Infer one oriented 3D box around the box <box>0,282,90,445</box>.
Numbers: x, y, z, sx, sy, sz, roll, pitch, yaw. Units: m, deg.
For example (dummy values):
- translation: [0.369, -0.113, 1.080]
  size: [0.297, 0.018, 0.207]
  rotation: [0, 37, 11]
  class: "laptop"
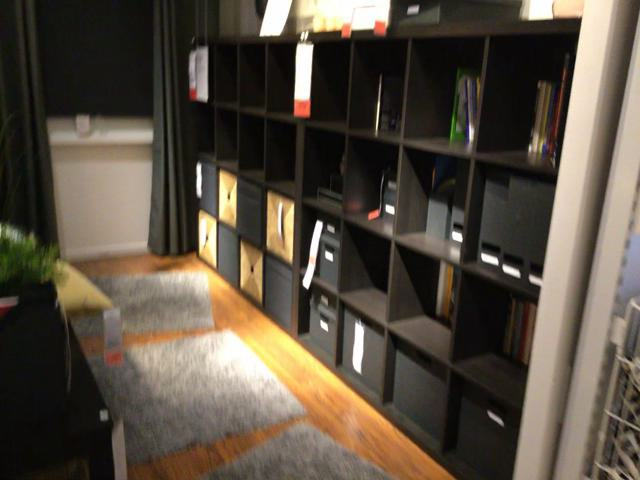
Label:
- translation: [-0.740, 0.300, 1.430]
  size: [0.280, 0.330, 0.180]
  rotation: [-3, 17, -34]
  class: "box"
